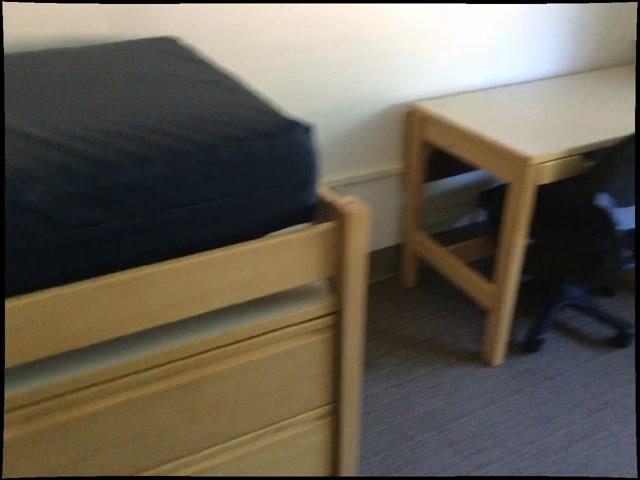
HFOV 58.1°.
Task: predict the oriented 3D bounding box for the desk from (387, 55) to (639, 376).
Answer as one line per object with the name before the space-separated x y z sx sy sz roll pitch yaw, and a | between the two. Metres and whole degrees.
desk | 1.037 -0.190 2.280 1.347 0.782 0.710 -14 31 -20
